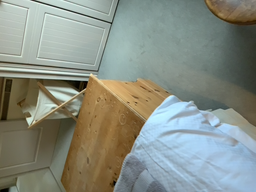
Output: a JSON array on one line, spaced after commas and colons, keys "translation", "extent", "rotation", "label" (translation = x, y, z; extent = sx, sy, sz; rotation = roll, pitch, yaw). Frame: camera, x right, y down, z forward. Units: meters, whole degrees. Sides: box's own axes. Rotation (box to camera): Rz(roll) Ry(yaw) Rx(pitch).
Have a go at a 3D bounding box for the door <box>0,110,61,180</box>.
[{"translation": [-1.840, 0.640, 2.280], "extent": [0.120, 2.130, 0.900], "rotation": [35, 115, 41], "label": "door"}]
